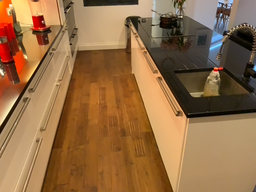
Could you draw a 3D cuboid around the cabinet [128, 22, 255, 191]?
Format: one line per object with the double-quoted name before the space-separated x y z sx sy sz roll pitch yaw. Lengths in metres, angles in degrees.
"cabinet" 0.420 -0.160 2.460 0.570 0.820 2.410 -4 32 -5
